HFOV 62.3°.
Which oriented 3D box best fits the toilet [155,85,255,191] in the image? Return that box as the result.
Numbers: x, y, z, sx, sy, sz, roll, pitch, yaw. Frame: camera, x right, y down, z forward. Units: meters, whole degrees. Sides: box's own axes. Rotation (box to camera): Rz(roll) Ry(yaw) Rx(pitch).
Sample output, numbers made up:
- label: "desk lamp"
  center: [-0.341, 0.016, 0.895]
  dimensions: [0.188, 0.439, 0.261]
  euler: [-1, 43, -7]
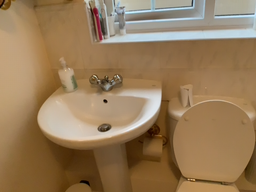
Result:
- label: "toilet"
  center: [0.360, 0.450, 0.960]
  dimensions: [0.390, 0.790, 0.640]
  euler: [2, 30, 13]

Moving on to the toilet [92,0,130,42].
- label: "toilet"
  center: [-0.080, -0.410, 1.090]
  dimensions: [0.130, 0.220, 0.170]
  euler: [2, 30, 13]
